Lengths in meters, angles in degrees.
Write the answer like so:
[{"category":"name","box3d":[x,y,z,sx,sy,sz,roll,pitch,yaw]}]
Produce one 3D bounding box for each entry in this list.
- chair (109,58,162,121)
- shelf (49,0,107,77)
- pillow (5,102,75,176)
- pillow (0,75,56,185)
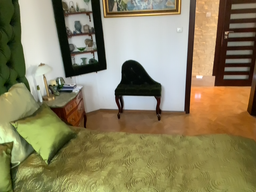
[{"category":"chair","box3d":[0.140,-0.100,3.180,0.710,0.870,0.310,2,23,11]},{"category":"shelf","box3d":[-0.670,-1.160,2.820,0.510,1.750,0.470,2,23,11]},{"category":"pillow","box3d":[-0.730,0.340,1.780,0.250,0.430,0.390,32,22,12]},{"category":"pillow","box3d":[-0.910,0.230,1.750,0.320,0.620,0.630,10,23,9]}]
